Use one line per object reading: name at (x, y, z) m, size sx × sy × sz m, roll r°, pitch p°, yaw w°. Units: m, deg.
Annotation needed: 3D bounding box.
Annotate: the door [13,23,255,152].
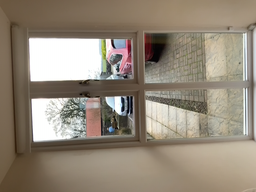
door at (0.170, -0.100, 1.920) m, size 0.110 × 2.210 × 1.050 m, roll -175°, pitch 83°, yaw -83°
